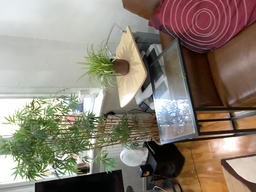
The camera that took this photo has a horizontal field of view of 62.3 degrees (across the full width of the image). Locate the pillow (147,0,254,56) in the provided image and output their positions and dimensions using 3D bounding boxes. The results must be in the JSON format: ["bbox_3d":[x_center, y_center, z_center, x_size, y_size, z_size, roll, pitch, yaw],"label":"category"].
[{"bbox_3d":[0.370,-0.430,1.070,0.430,0.400,0.160,-17,68,22],"label":"pillow"}]
